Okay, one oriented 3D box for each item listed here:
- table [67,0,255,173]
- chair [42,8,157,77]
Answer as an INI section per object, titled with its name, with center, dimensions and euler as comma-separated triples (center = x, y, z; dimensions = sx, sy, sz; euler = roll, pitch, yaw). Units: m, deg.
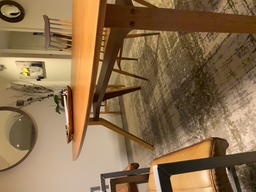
[table]
center = 0.020, -0.150, 1.420
dimensions = 1.820, 0.750, 0.890
euler = 120, 145, -57
[chair]
center = -0.300, -0.510, 2.050
dimensions = 0.550, 0.940, 0.420
euler = -115, 31, -52
